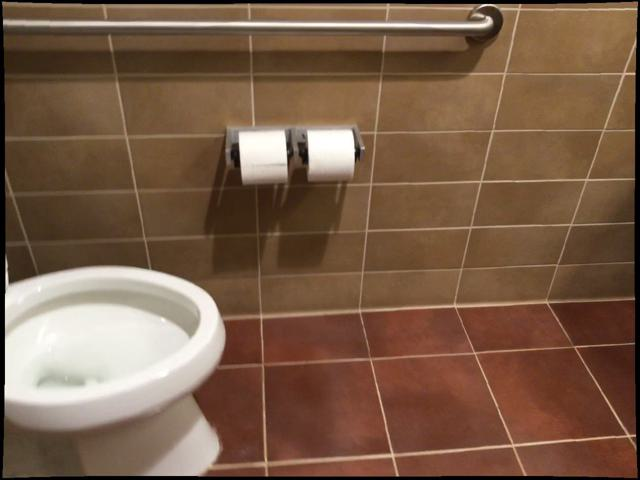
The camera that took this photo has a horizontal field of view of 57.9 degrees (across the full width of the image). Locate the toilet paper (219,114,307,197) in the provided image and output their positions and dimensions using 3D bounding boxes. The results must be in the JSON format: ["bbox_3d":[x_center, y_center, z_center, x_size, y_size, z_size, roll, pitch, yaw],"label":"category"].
[{"bbox_3d":[-0.130,-0.200,1.360,0.190,0.130,0.150,-3,37,-4],"label":"toilet paper"}]
